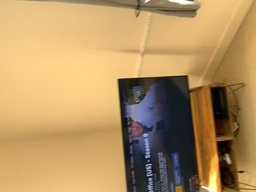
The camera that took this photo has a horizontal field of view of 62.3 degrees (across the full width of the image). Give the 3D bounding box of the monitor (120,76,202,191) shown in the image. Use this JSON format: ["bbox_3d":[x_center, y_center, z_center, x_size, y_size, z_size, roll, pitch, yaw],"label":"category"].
[{"bbox_3d":[0.320,0.440,2.000,0.070,0.700,1.240,159,107,-75],"label":"monitor"}]
